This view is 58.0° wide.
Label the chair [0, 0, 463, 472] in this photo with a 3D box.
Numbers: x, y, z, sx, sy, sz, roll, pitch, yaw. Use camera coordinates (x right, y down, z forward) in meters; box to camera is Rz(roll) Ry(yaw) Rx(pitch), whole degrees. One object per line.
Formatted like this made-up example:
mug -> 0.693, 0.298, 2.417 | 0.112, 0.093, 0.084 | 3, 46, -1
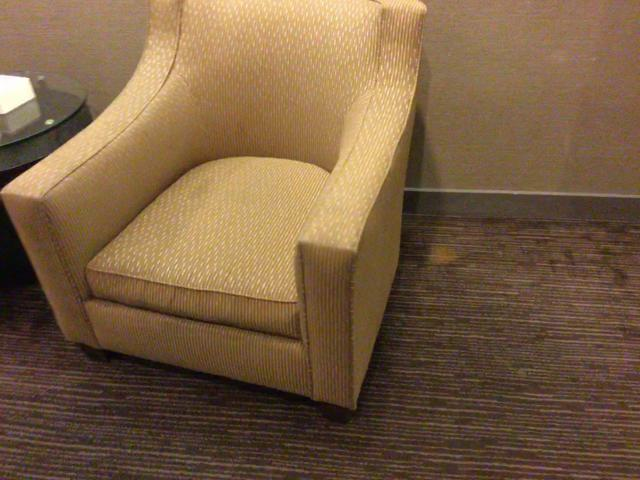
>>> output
chair -> -0.180, -0.160, 1.610 | 0.920, 0.890, 0.970 | 10, 35, 15
